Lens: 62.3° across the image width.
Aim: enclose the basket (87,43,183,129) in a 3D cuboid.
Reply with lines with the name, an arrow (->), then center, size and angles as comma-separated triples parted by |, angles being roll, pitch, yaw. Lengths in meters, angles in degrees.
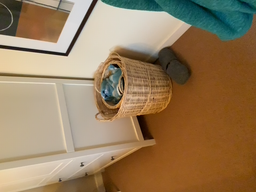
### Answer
basket -> 0.030, -0.050, 1.590 | 0.450, 0.450, 0.420 | -42, 57, 45
